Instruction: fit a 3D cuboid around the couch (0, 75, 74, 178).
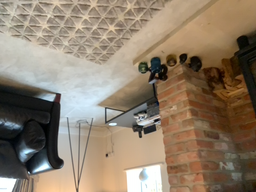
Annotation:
[{"bbox_3d":[-1.750,0.330,2.150,2.040,0.890,1.050,14,151,-34],"label":"couch"}]
